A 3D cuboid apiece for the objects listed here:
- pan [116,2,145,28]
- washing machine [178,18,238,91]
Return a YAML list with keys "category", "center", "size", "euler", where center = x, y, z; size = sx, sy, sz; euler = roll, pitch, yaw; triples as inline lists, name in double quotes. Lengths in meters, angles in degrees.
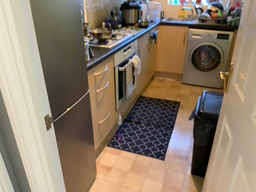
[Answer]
- category: "pan"
  center: [0.040, -1.100, 2.850]
  size: [0.290, 0.280, 0.330]
  euler: [9, 29, 17]
- category: "washing machine"
  center: [1.240, -0.690, 3.360]
  size: [0.670, 0.930, 0.650]
  euler: [10, 29, 18]
